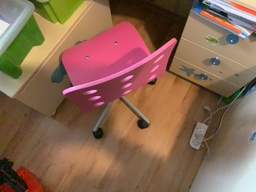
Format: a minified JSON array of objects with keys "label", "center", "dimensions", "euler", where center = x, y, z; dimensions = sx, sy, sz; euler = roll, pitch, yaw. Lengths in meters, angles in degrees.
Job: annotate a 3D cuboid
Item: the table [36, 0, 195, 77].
[{"label":"table","center":[-0.030,-0.480,1.070],"dimensions":[0.570,0.730,0.470],"euler":[6,72,3]}]
